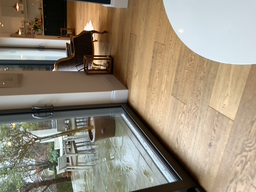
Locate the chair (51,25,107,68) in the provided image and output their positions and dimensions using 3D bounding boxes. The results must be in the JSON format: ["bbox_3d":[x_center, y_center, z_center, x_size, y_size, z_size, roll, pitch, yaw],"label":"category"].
[{"bbox_3d":[-0.870,-0.810,3.670,0.610,0.830,0.590,-177,84,-68],"label":"chair"}]
